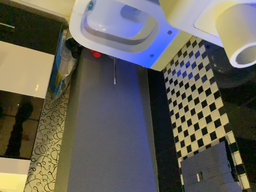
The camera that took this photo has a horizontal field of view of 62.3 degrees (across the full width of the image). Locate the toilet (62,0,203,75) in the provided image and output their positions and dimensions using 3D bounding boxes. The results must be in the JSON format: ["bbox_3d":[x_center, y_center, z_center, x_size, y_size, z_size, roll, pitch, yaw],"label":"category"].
[{"bbox_3d":[0.000,-0.420,1.070,0.530,0.340,0.390,13,143,-21],"label":"toilet"}]
